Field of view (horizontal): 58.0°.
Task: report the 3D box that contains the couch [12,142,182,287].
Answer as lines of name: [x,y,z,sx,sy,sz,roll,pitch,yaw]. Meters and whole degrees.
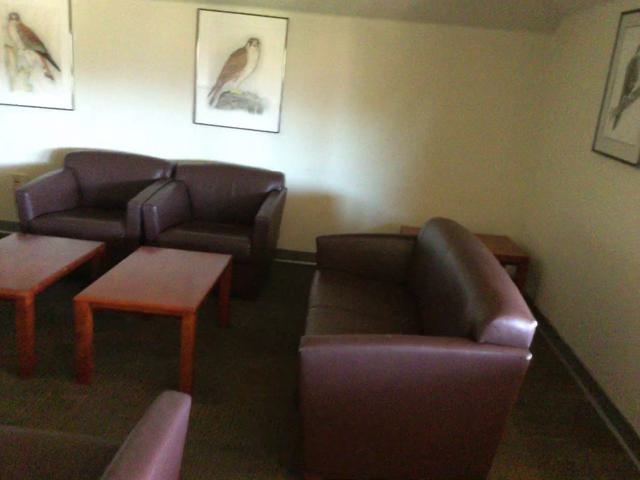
couch: [-1.300,-0.200,3.530,0.670,0.620,0.950,9,13,-5]

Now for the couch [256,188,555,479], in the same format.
couch: [0.250,0.350,2.410,0.780,0.850,1.270,10,13,-1]

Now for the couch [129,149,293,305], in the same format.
couch: [-0.630,-0.120,3.580,0.780,0.640,0.840,10,18,-2]

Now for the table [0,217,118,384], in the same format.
table: [-1.450,0.230,2.700,0.710,0.470,0.740,10,13,-1]

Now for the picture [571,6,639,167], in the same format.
picture: [1.370,-0.680,2.600,0.090,0.680,0.530,9,9,-3]

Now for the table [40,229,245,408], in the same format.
table: [-0.780,0.320,2.750,0.670,0.480,0.840,10,13,-1]

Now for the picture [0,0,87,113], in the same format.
picture: [-1.810,-1.210,3.690,0.550,0.690,0.130,10,16,-1]

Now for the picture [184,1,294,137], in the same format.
picture: [-0.530,-1.100,3.760,0.600,0.740,0.180,10,17,-2]
